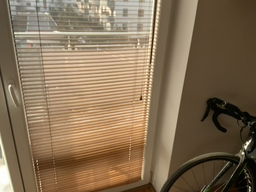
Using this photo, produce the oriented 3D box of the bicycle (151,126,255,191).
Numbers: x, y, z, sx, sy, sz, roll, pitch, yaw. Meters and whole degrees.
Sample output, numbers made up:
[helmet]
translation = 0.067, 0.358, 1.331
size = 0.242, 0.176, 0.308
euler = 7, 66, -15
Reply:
[bicycle]
translation = 0.870, 0.670, 1.390
size = 1.360, 0.750, 0.440
euler = 3, 24, -1
